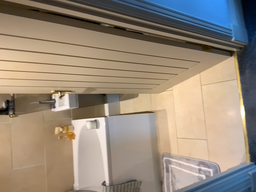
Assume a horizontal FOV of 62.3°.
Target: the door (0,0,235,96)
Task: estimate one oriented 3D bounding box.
[{"bbox_3d":[-0.310,-0.160,1.180,0.850,1.970,0.060,-27,69,50],"label":"door"}]
